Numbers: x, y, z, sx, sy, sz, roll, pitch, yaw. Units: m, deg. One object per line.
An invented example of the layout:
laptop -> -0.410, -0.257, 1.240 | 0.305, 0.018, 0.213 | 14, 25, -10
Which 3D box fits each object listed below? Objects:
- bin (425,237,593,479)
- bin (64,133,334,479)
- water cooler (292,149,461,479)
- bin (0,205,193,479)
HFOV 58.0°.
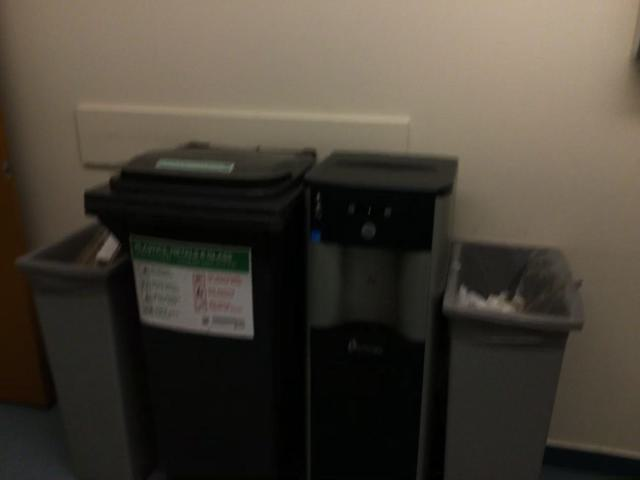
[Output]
bin -> 0.450, 0.430, 1.510 | 0.300, 0.750, 0.470 | 5, 18, 14
bin -> -0.260, 0.280, 1.540 | 0.500, 1.050, 0.430 | 4, 18, 12
water cooler -> 0.140, 0.310, 1.490 | 0.350, 1.030, 0.290 | 5, 18, 14
bin -> -0.630, 0.340, 1.710 | 0.320, 0.800, 0.370 | 5, 18, 14
